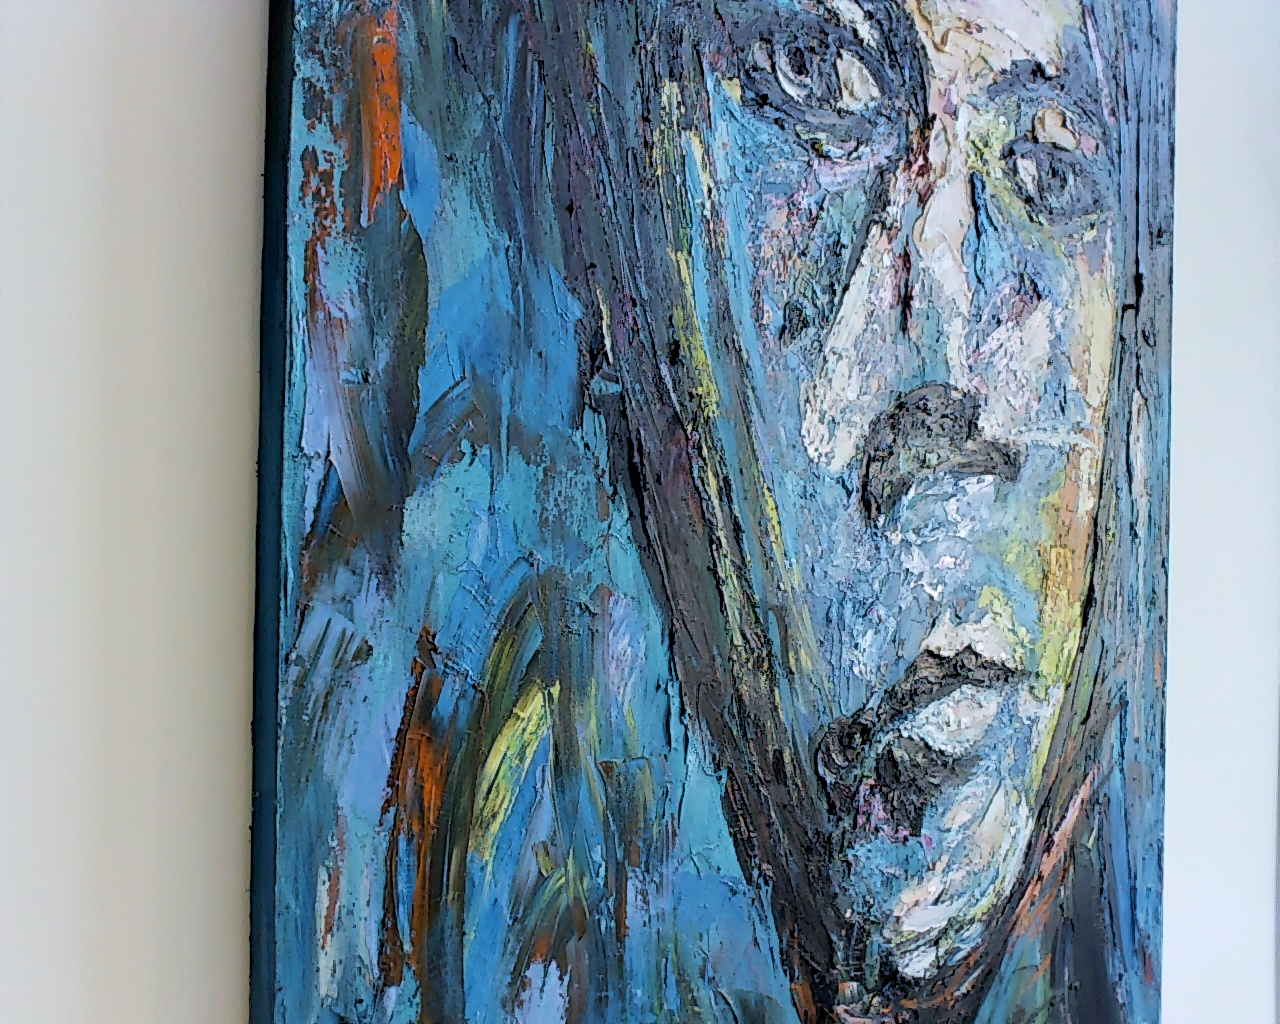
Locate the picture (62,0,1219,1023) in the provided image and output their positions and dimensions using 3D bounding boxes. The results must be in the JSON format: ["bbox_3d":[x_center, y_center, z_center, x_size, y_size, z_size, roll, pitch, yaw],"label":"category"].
[{"bbox_3d":[0.220,0.050,1.080,1.420,1.690,0.080,0,1,-40],"label":"picture"}]
